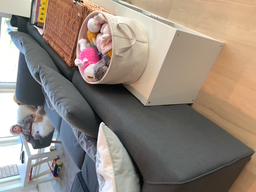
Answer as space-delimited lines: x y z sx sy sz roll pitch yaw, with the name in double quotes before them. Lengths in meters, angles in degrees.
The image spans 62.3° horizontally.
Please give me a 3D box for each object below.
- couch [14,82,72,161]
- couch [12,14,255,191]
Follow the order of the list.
"couch" -1.180 0.330 2.870 0.540 0.480 0.860 48 126 39
"couch" -0.340 0.110 1.730 2.200 0.630 0.890 41 121 42
